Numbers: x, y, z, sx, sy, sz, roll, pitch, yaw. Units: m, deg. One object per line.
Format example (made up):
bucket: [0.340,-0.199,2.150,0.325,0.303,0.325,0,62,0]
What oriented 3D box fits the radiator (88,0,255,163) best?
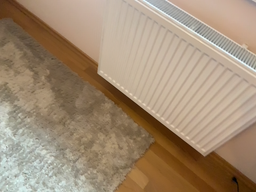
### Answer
radiator: [0.180,-0.140,1.080,0.860,0.710,0.220,41,59,15]
